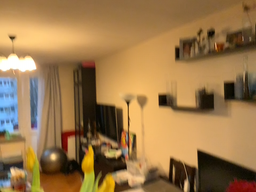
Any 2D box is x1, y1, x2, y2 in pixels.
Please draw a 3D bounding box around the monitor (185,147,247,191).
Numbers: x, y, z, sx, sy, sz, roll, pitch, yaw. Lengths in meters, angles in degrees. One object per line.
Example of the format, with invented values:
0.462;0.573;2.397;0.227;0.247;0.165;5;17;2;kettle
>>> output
0.690;0.720;1.740;0.030;0.460;0.670;-4;-1;-18;monitor
